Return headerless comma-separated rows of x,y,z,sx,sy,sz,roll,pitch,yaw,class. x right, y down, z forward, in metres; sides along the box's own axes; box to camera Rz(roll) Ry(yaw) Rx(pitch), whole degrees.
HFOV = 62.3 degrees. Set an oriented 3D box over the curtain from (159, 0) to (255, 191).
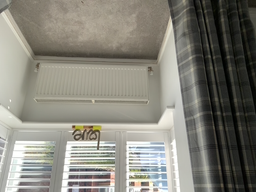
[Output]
0.570,0.300,1.160,0.550,2.220,0.350,8,155,-18,curtain
